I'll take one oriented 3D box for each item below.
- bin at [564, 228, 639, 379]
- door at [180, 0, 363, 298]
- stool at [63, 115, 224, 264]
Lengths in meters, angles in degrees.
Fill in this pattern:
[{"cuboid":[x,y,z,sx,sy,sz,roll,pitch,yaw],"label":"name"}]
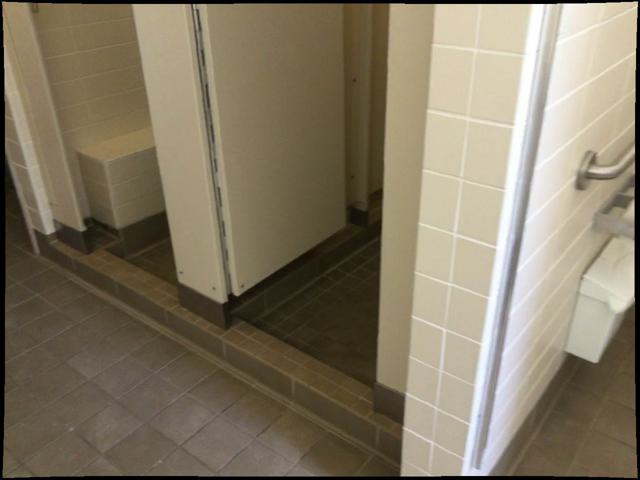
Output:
[{"cuboid":[0.829,0.170,1.620,0.130,0.290,0.300,21,39,36],"label":"bin"},{"cuboid":[-0.100,-0.480,1.810,0.060,1.221,0.660,21,38,36],"label":"door"},{"cuboid":[-0.779,-0.250,2.650,0.270,0.450,0.580,21,39,36],"label":"stool"}]
